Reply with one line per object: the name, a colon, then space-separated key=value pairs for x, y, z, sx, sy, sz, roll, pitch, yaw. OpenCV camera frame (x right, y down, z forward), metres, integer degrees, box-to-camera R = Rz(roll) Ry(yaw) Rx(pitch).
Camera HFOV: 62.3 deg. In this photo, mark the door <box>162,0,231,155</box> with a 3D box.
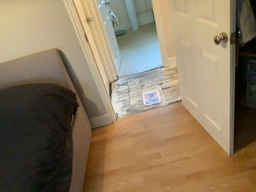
door: x=0.410 y=-0.530 z=1.410 sx=0.040 sy=1.930 sz=0.780 roll=-20 pitch=32 yaw=-5
